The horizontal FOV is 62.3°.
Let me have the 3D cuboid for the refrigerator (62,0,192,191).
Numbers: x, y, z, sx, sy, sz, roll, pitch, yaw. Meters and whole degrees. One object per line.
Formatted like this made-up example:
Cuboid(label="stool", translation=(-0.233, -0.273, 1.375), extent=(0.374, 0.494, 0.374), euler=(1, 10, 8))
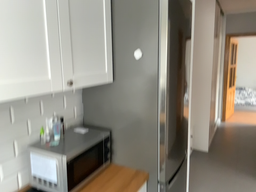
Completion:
Cuboid(label="refrigerator", translation=(0.040, 0.300, 1.700), extent=(0.720, 2.030, 0.640), euler=(4, 11, 28))
